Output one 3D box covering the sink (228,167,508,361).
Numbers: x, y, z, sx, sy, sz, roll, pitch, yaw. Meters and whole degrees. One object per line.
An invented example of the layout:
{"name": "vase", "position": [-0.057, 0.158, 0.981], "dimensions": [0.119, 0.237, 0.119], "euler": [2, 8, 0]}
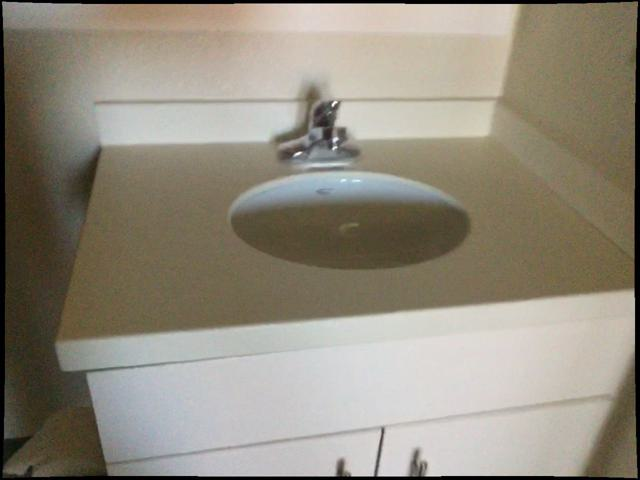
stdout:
{"name": "sink", "position": [0.050, 0.020, 0.950], "dimensions": [0.380, 0.150, 0.300], "euler": [-3, 33, -9]}
